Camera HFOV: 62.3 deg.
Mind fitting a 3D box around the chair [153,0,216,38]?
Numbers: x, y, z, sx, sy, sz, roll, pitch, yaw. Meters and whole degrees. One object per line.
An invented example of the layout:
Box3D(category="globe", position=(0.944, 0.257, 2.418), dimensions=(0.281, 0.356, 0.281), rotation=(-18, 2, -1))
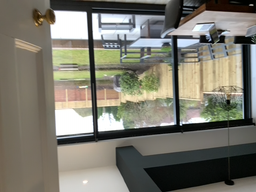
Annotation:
Box3D(category="chair", position=(0.690, -1.250, 2.690), dimensions=(0.580, 0.880, 0.520), rotation=(-4, -177, -16))
